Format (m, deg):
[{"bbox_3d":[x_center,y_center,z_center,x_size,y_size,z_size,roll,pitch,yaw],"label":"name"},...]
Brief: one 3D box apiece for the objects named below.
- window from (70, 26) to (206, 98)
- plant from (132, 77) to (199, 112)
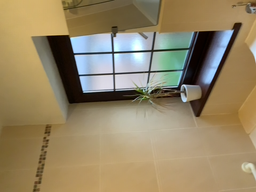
[{"bbox_3d":[0.070,-0.240,1.700,0.640,0.940,0.040,91,174,-47],"label":"window"},{"bbox_3d":[0.290,-0.010,1.760,0.210,0.500,0.170,91,174,-47],"label":"plant"}]
